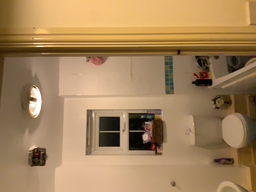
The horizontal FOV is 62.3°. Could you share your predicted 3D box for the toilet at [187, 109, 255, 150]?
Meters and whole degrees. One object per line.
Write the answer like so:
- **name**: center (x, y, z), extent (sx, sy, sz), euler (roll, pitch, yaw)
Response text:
- **toilet**: center (1.090, 0.330, 2.220), extent (0.640, 0.750, 0.370), euler (90, 180, -84)
